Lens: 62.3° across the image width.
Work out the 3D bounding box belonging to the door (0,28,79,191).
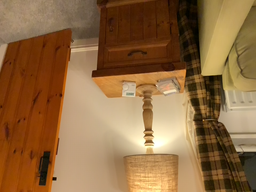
[{"bbox_3d":[-0.750,0.370,1.480,0.630,1.910,0.080,-4,158,12],"label":"door"}]

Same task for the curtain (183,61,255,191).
[{"bbox_3d":[0.610,0.620,1.140,0.470,1.710,0.190,-3,158,9],"label":"curtain"}]

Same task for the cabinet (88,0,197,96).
[{"bbox_3d":[0.110,-0.380,1.440,0.580,0.620,0.440,-3,158,10],"label":"cabinet"}]
